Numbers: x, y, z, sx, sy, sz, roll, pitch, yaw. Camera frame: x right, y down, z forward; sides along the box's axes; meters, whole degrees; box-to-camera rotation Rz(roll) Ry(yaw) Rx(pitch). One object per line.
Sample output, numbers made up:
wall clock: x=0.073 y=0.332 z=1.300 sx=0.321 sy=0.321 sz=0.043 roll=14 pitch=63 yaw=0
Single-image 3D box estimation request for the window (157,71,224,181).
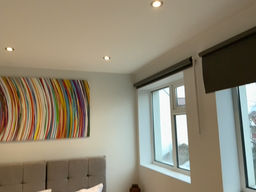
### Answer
window: x=0.770 y=0.390 z=2.930 sx=0.080 sy=1.220 sz=1.200 roll=2 pitch=-8 yaw=-23
